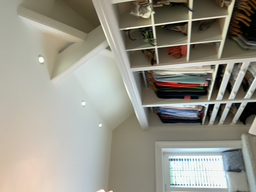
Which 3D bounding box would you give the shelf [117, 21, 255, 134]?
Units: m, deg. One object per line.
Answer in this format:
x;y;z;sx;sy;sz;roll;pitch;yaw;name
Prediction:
1.210;-0.110;3.450;2.000;2.340;0.700;71;-161;-57;shelf

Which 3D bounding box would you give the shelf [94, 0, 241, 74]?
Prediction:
0.400;-0.840;2.330;0.900;1.220;0.700;71;-161;-57;shelf
